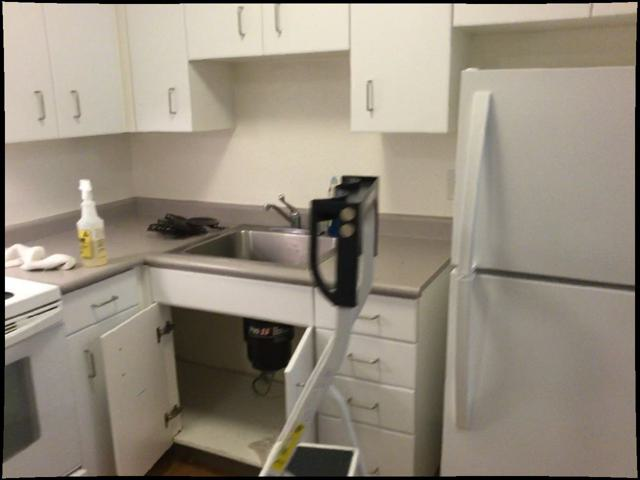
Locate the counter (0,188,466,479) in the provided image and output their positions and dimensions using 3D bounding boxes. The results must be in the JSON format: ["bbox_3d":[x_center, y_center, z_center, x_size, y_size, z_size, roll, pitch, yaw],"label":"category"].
[{"bbox_3d":[-0.708,0.170,1.740,1.796,0.190,2.159,6,17,26],"label":"counter"}]

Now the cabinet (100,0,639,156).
[{"bbox_3d":[0.209,-0.732,2.080,2.315,0.772,0.340,6,17,26],"label":"cabinet"}]

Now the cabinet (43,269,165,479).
[{"bbox_3d":[-0.798,0.582,2.200,0.090,0.862,0.370,6,17,26],"label":"cabinet"}]
